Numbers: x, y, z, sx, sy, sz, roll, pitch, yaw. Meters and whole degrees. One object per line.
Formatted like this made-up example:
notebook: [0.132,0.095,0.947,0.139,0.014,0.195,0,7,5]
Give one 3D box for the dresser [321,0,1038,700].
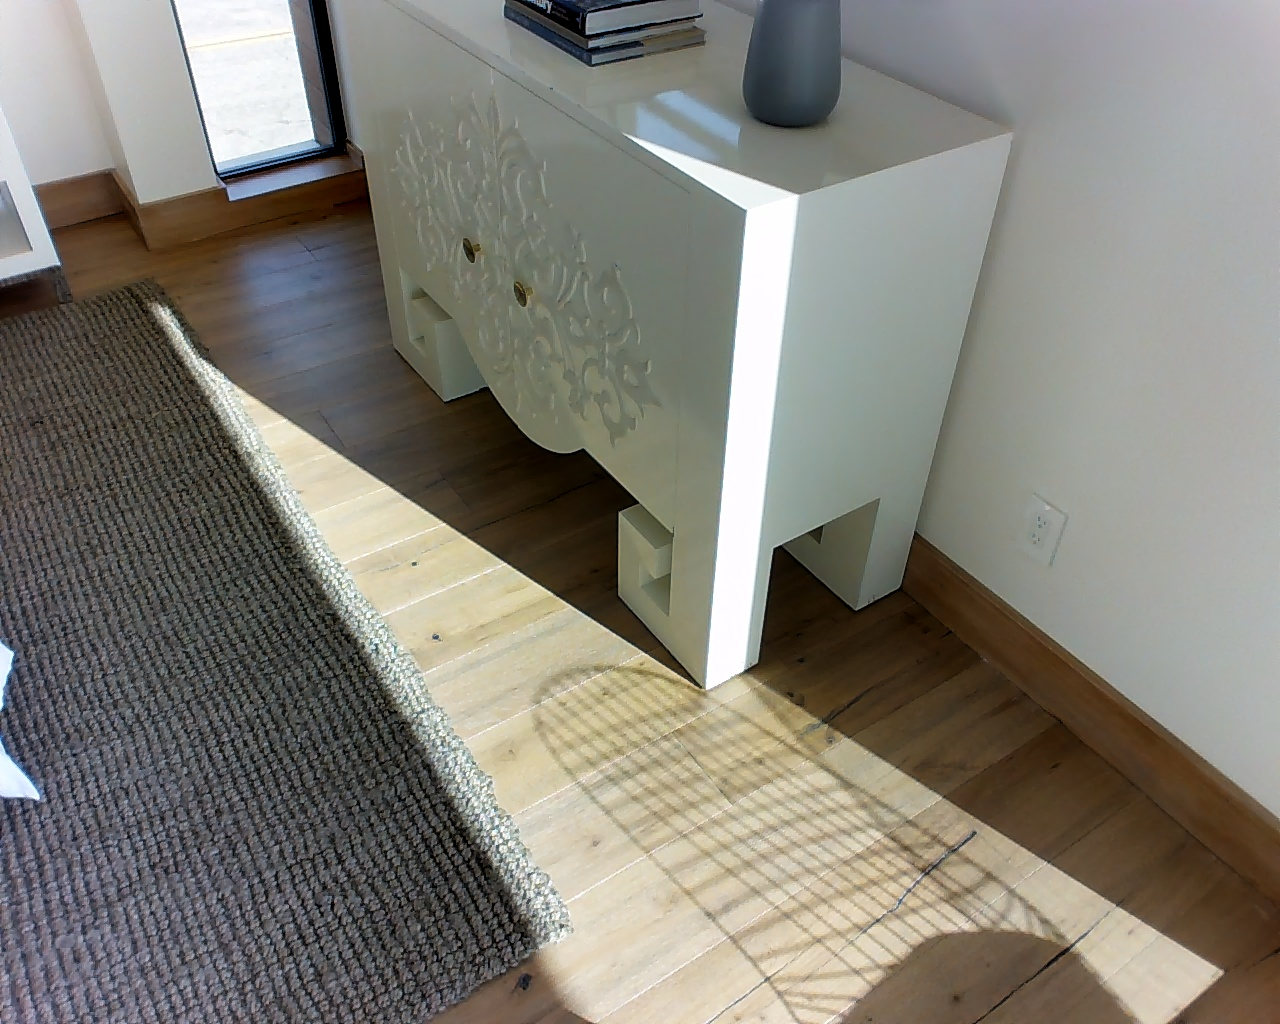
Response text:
dresser: [-0.060,-0.540,2.270,0.560,1.000,1.500,-24,47,-24]
